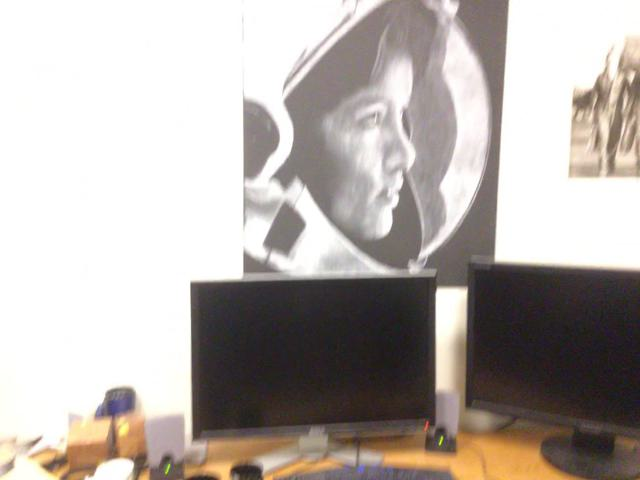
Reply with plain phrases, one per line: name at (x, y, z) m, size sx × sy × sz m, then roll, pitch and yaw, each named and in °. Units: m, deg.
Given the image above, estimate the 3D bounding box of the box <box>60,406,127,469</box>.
box at (-0.630, 0.550, 1.620) m, size 0.130 × 0.110 × 0.150 m, roll -1°, pitch 5°, yaw -4°
